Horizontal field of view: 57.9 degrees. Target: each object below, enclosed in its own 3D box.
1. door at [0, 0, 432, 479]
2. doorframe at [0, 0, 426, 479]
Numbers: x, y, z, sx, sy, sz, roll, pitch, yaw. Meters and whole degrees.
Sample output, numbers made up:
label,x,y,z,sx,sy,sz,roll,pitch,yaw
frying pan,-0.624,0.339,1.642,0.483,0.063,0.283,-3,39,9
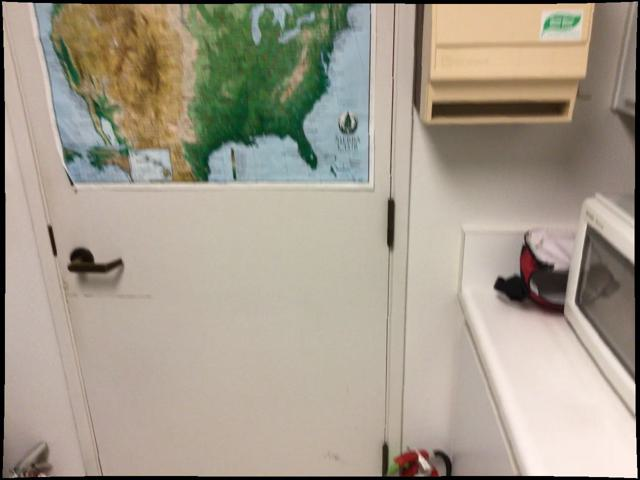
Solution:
label,x,y,z,sx,sy,sz,roll,pitch,yaw
door,-0.240,-0.010,1.520,1.019,2.062,0.070,-1,21,4
doorframe,-0.270,-0.030,1.510,1.049,2.092,0.080,-1,21,4
